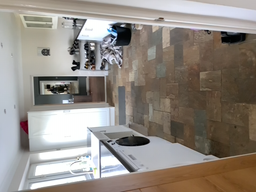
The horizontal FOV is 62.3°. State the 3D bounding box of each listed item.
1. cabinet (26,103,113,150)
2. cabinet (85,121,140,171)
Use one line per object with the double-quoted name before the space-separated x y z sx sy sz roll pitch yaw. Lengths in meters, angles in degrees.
"cabinet" -1.460 0.720 5.500 0.660 2.040 0.930 -173 82 -69
"cabinet" -0.320 0.930 4.160 0.630 0.910 0.720 -177 85 -69
